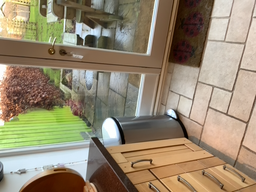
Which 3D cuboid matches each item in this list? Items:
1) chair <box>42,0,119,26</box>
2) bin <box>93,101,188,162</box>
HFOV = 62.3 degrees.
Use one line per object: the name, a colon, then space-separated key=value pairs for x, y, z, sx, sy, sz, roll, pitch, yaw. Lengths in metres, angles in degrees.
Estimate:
chair: x=-0.690 y=-1.600 z=3.070 sx=0.720 sy=0.920 sz=0.920 roll=23 pitch=110 yaw=59
bin: x=0.100 y=0.280 z=1.920 sx=0.430 sy=0.680 sz=0.330 roll=36 pitch=121 yaw=55
